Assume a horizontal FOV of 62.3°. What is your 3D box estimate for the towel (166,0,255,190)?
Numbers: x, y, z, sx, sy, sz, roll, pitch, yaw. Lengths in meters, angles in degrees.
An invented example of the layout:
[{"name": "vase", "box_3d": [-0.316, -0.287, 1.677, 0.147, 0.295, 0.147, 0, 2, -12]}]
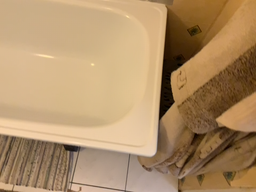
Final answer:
[{"name": "towel", "box_3d": [0.320, -0.110, 0.340, 0.260, 1.030, 0.450, 7, 65, -2]}]
